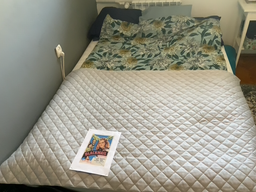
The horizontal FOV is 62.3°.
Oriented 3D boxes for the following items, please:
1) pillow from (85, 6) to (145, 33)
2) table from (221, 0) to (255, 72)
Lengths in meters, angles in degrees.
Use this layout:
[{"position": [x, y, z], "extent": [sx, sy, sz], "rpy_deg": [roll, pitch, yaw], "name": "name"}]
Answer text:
[{"position": [-0.130, -0.900, 2.480], "extent": [0.610, 0.130, 0.440], "rpy_deg": [2, 41, 10], "name": "pillow"}, {"position": [1.370, -0.660, 2.350], "extent": [0.460, 0.700, 0.360], "rpy_deg": [4, 41, 12], "name": "table"}]
